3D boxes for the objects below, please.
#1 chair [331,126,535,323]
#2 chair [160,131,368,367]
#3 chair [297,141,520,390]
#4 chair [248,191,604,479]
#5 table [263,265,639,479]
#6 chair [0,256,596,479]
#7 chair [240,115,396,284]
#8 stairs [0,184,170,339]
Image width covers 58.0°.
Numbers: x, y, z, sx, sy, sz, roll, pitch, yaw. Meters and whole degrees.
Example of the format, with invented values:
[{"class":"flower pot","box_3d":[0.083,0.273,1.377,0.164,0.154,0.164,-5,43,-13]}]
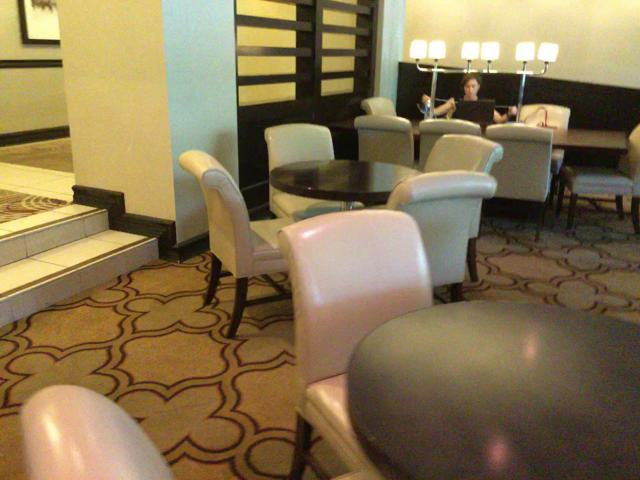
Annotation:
[{"class":"chair","box_3d":[0.680,-0.170,3.630,0.860,0.920,0.860,-16,23,-37]},{"class":"chair","box_3d":[-0.310,-0.030,3.090,0.810,0.940,0.840,-10,20,-25]},{"class":"chair","box_3d":[0.390,0.050,2.910,0.680,0.930,0.860,-10,20,-25]},{"class":"chair","box_3d":[0.230,0.420,1.730,0.590,0.920,0.820,-10,20,-25]},{"class":"table","box_3d":[0.500,0.310,1.220,0.890,0.100,0.900,8,20,25]},{"class":"chair","box_3d":[-0.070,0.630,1.060,0.820,0.950,0.550,-11,21,-26]},{"class":"chair","box_3d":[-0.050,-0.330,3.960,0.860,0.910,0.910,-5,19,-11]},{"class":"stairs","box_3d":[-1.890,0.080,3.450,1.150,0.420,1.580,8,20,25]}]
